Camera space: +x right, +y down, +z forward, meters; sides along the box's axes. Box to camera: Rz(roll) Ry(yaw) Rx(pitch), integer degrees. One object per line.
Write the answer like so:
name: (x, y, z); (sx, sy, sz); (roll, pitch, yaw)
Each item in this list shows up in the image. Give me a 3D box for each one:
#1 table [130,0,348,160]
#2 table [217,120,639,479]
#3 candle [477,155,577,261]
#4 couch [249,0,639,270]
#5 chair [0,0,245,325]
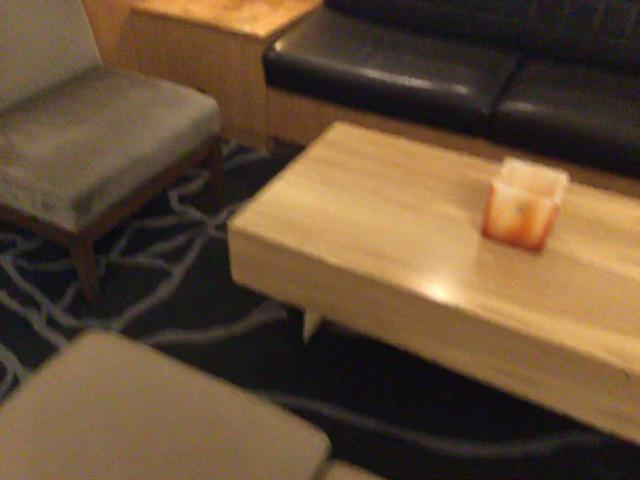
table: (-0.340, -0.830, 2.650); (0.700, 0.560, 0.640); (19, 38, 20)
table: (0.460, 0.170, 1.490); (1.260, 0.480, 0.650); (19, 38, 20)
candle: (0.480, -0.080, 1.340); (0.160, 0.140, 0.180); (19, 38, 20)
couch: (0.710, -0.640, 2.140); (1.870, 0.970, 0.650); (19, 38, 20)
chair: (-0.830, -0.440, 1.890); (0.800, 0.880, 0.850); (19, 38, 20)
